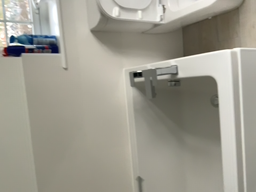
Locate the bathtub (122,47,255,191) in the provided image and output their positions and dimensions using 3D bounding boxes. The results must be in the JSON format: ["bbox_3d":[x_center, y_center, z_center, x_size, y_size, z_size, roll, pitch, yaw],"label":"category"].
[{"bbox_3d":[0.490,0.630,1.300,0.770,0.600,1.690,1,97,56],"label":"bathtub"}]
